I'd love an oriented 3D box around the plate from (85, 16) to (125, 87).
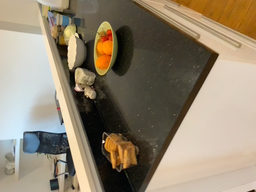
[{"bbox_3d":[-0.120,-0.210,0.990,0.250,0.060,0.240,55,135,47],"label":"plate"}]
